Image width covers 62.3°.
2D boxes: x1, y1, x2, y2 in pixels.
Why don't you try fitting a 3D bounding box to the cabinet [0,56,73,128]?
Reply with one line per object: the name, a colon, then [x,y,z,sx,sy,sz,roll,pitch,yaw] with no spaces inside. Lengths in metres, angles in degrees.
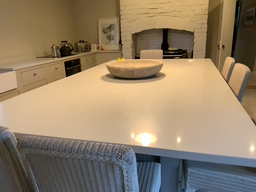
cabinet: [-1.550,-0.150,3.530,0.680,0.890,1.130,3,18,15]
